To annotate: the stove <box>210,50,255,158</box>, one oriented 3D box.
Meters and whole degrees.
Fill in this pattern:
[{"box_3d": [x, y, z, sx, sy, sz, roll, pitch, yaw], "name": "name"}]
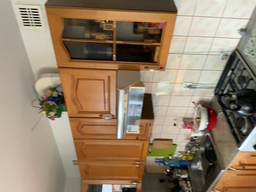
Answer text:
[{"box_3d": [0.890, 0.050, 1.630, 0.640, 0.150, 0.520, -92, 5, -45], "name": "stove"}]
